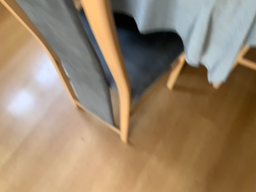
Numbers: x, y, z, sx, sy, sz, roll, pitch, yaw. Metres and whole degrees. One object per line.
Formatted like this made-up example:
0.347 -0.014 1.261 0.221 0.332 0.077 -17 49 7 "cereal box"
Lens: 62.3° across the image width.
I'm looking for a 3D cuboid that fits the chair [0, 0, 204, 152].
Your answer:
-0.060 -0.210 0.690 0.410 1.030 0.440 32 69 14 "chair"
